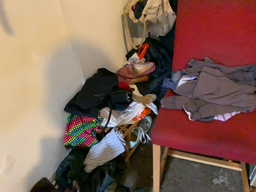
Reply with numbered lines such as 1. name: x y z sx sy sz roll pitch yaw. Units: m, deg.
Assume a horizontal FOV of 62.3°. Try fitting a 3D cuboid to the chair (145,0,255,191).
1. chair: 0.400 0.040 1.010 0.490 0.890 0.550 7 40 16
